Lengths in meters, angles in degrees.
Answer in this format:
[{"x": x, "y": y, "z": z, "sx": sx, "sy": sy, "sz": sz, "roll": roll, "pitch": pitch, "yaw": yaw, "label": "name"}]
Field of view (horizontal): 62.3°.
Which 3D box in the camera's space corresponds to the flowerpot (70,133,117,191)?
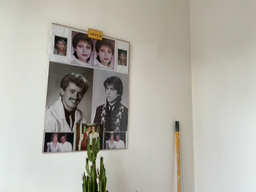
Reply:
[{"x": -0.180, "y": 0.530, "z": 1.040, "sx": 0.160, "sy": 0.670, "sz": 0.210, "roll": 5, "pitch": -8, "yaw": -30, "label": "flowerpot"}]
